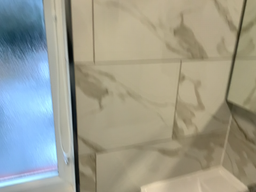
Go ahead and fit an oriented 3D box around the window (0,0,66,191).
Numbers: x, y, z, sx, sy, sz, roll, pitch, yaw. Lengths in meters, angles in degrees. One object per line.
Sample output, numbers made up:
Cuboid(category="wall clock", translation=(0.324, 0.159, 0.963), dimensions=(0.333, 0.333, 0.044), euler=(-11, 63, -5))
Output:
Cuboid(category="window", translation=(-0.490, -0.100, 0.610), dimensions=(0.540, 0.950, 0.100), euler=(-5, 21, -20))
